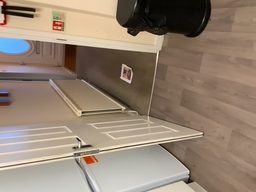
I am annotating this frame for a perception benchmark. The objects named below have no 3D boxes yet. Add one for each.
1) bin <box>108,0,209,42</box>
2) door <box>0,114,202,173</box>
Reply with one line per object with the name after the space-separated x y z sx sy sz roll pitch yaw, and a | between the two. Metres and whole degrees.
0.240 -0.640 1.620 0.290 0.690 0.350 30 117 55 | bin
-0.430 0.290 1.530 0.700 2.010 0.050 13 103 58 | door
